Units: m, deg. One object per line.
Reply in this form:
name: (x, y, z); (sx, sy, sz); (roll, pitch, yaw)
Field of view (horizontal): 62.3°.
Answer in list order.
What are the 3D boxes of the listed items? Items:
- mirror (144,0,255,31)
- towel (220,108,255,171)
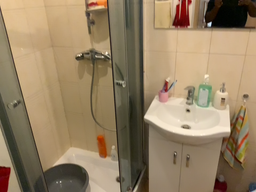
mirror: (0.430, -0.560, 1.230); (0.680, 0.340, 0.070); (6, 26, 18)
towel: (0.750, 0.310, 1.480); (0.140, 0.450, 0.080); (6, 26, 18)
